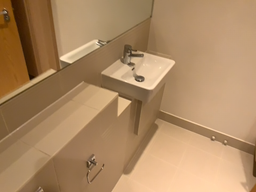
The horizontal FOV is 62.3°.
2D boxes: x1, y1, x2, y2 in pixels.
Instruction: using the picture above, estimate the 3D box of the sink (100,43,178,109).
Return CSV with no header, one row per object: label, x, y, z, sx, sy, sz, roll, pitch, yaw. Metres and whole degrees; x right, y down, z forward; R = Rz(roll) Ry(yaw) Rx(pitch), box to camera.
sink,0.090,-0.170,1.470,0.340,0.170,0.500,20,39,20
